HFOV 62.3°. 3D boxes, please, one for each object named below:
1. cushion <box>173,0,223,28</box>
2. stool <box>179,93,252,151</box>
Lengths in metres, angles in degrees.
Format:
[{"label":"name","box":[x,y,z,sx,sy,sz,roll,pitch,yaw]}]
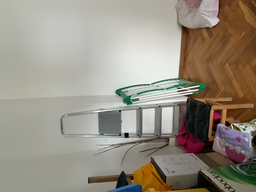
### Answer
[{"label":"cushion","box":[0.800,-1.280,2.430,0.720,0.190,0.910,-136,46,-71]},{"label":"stool","box":[0.790,0.220,1.980,0.340,0.480,0.420,-138,47,-71]}]
